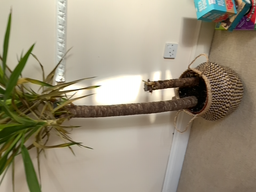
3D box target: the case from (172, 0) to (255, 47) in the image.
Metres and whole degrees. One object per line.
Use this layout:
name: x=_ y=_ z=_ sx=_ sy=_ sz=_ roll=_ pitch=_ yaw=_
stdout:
case: x=0.480 y=-0.400 z=1.090 sx=0.330 sy=0.320 sz=0.220 roll=38 pitch=126 yaw=53
